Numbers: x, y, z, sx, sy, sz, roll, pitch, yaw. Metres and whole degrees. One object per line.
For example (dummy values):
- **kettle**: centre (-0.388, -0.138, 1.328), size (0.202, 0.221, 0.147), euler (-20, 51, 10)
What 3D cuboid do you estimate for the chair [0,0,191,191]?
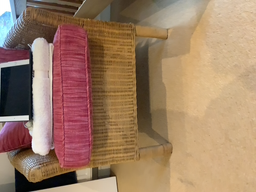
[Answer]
- **chair**: centre (-0.280, 0.000, 1.130), size (0.860, 0.750, 0.710), euler (169, 98, -64)
